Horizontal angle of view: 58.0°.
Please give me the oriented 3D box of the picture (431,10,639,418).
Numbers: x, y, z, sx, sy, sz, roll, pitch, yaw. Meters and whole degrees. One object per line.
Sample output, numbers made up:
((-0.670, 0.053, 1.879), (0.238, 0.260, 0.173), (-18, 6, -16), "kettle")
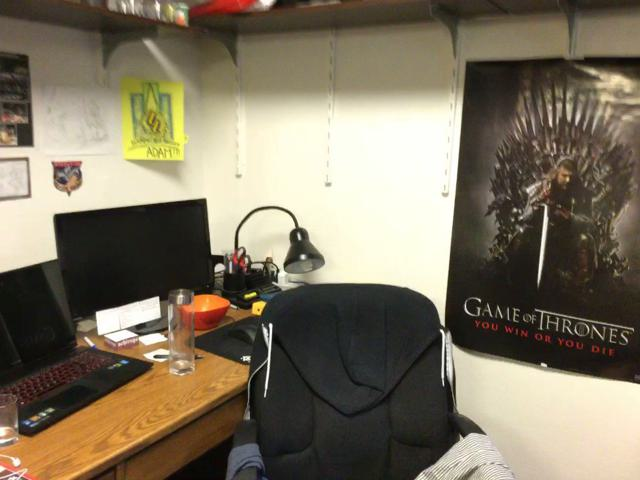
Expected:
((0.680, -0.080, 1.680), (0.640, 1.090, 0.040), (9, 13, 30), "picture")

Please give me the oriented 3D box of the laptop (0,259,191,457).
((-0.660, 0.240, 1.430), (0.420, 0.240, 0.520), (9, 13, 31), "laptop")

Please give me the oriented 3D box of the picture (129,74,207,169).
((-0.550, -0.430, 2.120), (0.100, 0.320, 0.280), (9, 13, 31), "picture")

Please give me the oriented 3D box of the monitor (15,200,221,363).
((-0.580, 0.090, 1.780), (0.170, 0.360, 0.620), (9, 13, 31), "monitor")
